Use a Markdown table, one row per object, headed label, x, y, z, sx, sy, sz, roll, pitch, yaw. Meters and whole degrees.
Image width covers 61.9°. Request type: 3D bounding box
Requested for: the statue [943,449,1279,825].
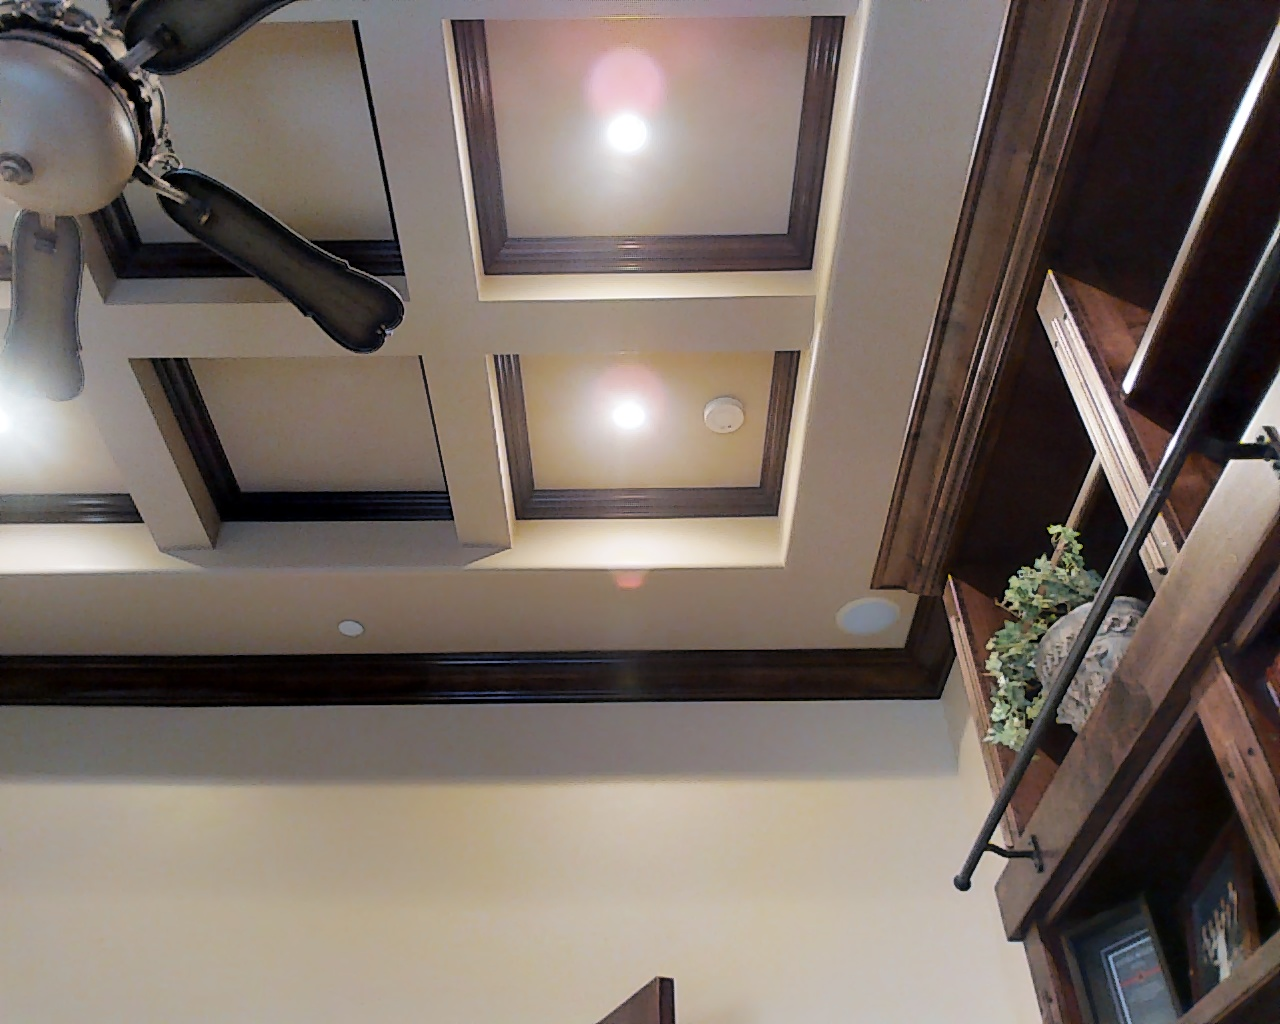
| label | x | y | z | sx | sy | sz | roll | pitch | yaw |
| --- | --- | --- | --- | --- | --- | --- | --- | --- | --- |
| statue | 0.910 | 0.260 | 2.120 | 0.430 | 0.470 | 0.600 | -1 | -43 | 2 |
